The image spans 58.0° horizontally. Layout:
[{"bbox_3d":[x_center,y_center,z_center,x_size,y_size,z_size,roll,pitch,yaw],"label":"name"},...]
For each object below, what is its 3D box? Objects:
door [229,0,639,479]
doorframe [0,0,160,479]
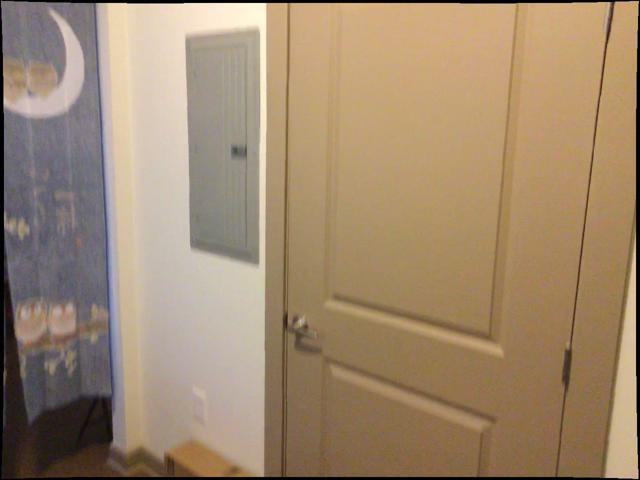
[{"bbox_3d":[0.229,0.180,1.610,1.278,2.175,0.150,14,19,40],"label":"door"},{"bbox_3d":[-1.137,0.060,2.160,0.280,1.974,0.969,14,19,39],"label":"doorframe"}]
